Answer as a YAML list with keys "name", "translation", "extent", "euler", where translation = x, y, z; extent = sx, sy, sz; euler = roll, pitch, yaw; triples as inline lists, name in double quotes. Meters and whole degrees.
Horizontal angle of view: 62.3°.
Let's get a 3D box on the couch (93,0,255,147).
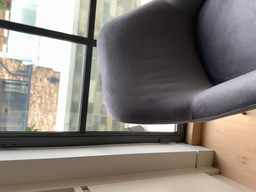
- name: "couch"
  translation: [0.380, -0.230, 0.880]
  extent: [0.730, 0.800, 0.700]
  euler: [-41, 50, 53]
